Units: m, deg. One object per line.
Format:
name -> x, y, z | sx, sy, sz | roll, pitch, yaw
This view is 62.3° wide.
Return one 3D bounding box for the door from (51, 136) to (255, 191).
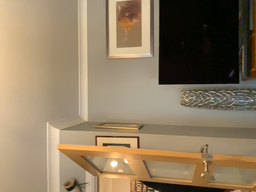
door -> 0.580, 0.550, 1.530 | 0.840, 2.050, 0.100 | 71, -156, -57
